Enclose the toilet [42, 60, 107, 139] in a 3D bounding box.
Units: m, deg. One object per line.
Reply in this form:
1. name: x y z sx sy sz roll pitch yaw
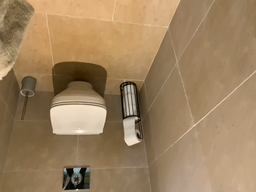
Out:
1. toilet: -0.390 0.060 1.620 0.390 0.370 0.540 2 149 -12
